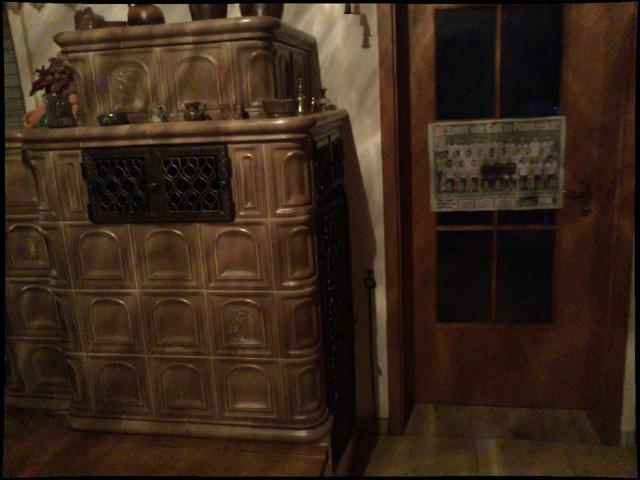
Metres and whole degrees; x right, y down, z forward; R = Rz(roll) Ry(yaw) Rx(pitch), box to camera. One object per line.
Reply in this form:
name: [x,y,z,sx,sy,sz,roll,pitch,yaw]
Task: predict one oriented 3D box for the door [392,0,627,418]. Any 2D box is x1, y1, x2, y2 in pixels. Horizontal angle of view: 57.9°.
door: [0.749,-0.180,2.460,0.839,1.942,0.240,-1,16,9]
